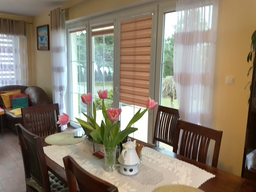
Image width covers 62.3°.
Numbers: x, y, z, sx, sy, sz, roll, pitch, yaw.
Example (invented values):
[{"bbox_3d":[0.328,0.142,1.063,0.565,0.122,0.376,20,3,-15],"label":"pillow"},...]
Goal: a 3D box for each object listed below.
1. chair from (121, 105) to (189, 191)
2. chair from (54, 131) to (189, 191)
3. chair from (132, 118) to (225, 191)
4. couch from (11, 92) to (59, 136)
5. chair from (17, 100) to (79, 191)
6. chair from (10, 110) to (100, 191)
[{"bbox_3d":[0.310,0.650,2.560,0.600,0.970,0.480,-5,11,-36],"label":"chair"},{"bbox_3d":[-0.060,0.820,1.290,0.530,1.010,0.560,-7,12,-43],"label":"chair"},{"bbox_3d":[0.400,0.760,1.790,0.550,1.000,0.470,-5,11,-36],"label":"chair"},{"bbox_3d":[-2.060,0.360,4.700,0.800,0.750,0.640,-6,12,-39],"label":"couch"},{"bbox_3d":[-0.910,0.610,2.430,0.480,1.010,0.540,-6,12,-41],"label":"chair"},{"bbox_3d":[-0.650,0.710,1.900,0.540,1.010,0.580,-7,12,-43],"label":"chair"}]
